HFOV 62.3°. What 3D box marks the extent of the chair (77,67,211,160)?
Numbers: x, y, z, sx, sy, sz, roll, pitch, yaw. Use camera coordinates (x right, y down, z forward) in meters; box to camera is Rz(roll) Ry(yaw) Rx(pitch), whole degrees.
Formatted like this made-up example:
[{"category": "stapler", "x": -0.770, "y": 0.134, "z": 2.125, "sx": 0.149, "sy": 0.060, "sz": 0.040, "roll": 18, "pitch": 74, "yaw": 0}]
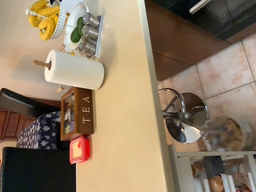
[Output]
[{"category": "chair", "x": 0.120, "y": 0.130, "z": 1.410, "sx": 0.350, "sy": 0.730, "sz": 0.400, "roll": 41, "pitch": 114, "yaw": 48}]
